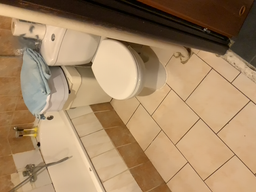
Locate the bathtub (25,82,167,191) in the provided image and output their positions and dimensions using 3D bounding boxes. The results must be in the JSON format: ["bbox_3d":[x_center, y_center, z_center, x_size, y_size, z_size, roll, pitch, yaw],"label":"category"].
[{"bbox_3d":[-0.230,0.800,1.810,1.970,0.550,0.720,52,126,30],"label":"bathtub"}]

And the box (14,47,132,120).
[{"bbox_3d":[-0.450,-0.110,1.860,0.390,0.850,0.370,53,126,30],"label":"box"}]

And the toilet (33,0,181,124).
[{"bbox_3d":[-0.170,-0.260,1.580,0.750,0.740,0.410,54,127,29],"label":"toilet"}]
